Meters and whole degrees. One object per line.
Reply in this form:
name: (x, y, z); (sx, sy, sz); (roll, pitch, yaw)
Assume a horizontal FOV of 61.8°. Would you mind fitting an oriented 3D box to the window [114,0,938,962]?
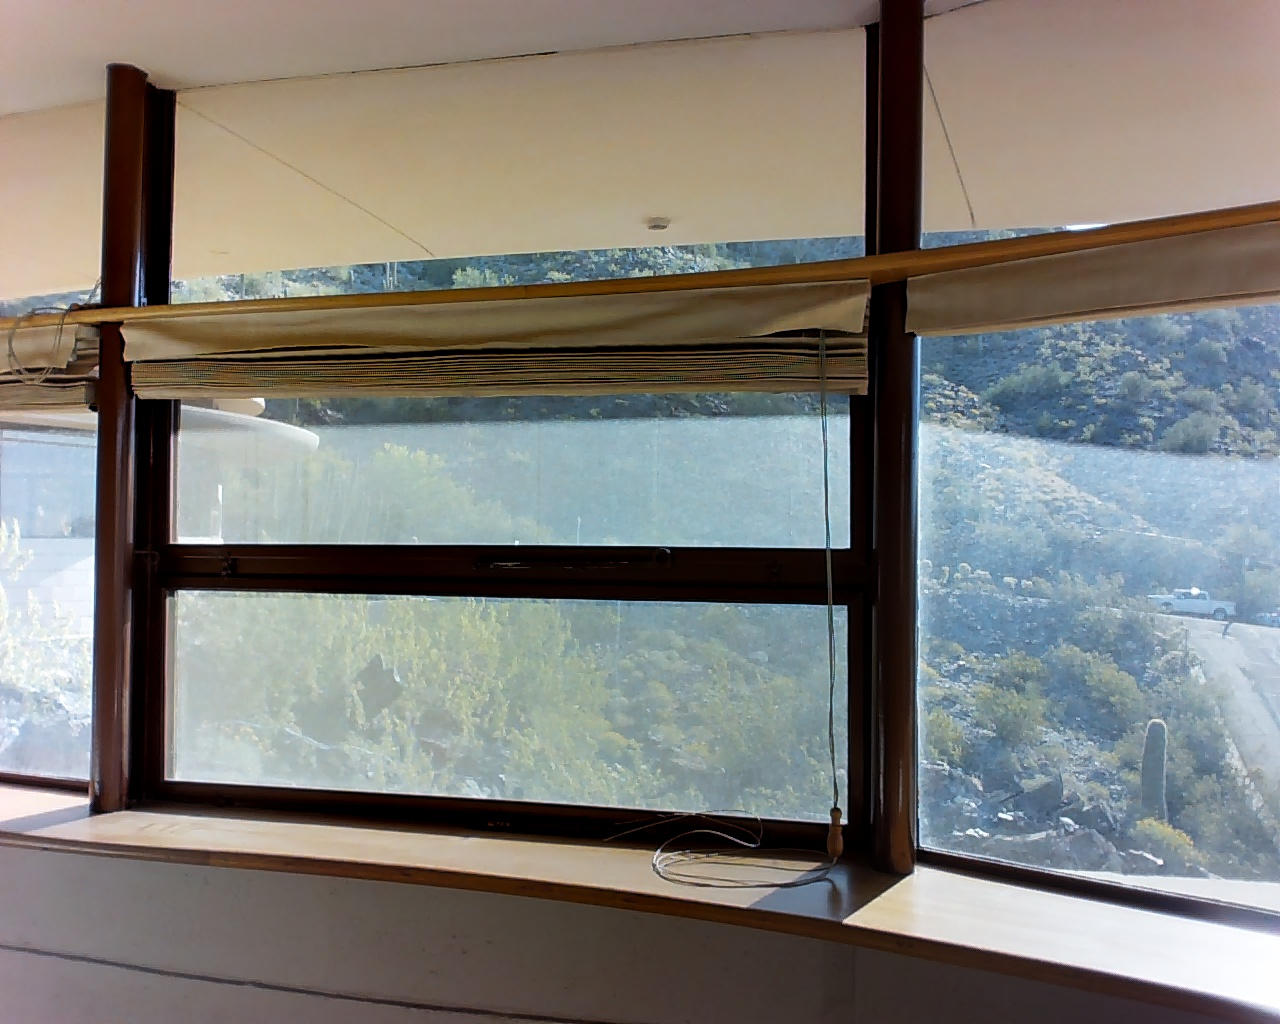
window: (-0.200, -0.070, 1.630); (1.250, 1.310, 0.140); (0, -2, 14)
